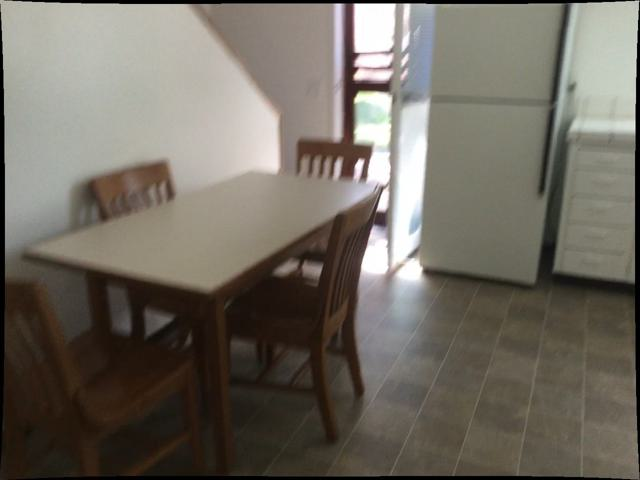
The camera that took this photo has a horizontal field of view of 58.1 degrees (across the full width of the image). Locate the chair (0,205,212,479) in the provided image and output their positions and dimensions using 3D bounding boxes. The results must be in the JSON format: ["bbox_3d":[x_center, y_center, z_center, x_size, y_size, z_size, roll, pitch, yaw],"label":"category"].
[{"bbox_3d":[-0.729,0.411,1.750,0.519,0.871,0.540,7,22,21],"label":"chair"}]

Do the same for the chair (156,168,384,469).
[{"bbox_3d":[-0.150,0.250,2.180,0.639,0.901,0.510,7,22,21],"label":"chair"}]

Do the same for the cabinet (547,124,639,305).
[{"bbox_3d":[2.007,-0.080,2.970,1.458,0.931,0.180,7,22,21],"label":"cabinet"}]

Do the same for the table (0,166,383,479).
[{"bbox_3d":[-0.379,0.250,2.390,0.919,0.771,1.340,7,22,21],"label":"table"}]
